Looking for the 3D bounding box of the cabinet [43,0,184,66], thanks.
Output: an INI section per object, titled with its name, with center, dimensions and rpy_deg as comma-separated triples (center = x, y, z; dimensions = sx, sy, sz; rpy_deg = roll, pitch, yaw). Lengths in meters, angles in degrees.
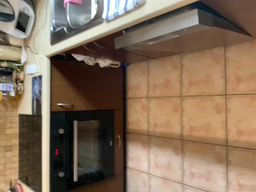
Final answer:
[cabinet]
center = -0.090, -0.610, 1.600
dimensions = 0.630, 0.850, 0.580
rpy_deg = -4, 86, 45
